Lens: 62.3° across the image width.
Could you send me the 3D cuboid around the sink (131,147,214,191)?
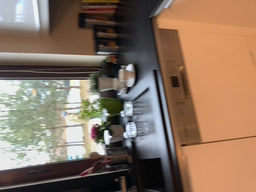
[{"bbox_3d":[0.210,0.410,1.160,0.410,0.240,0.200,138,127,-65],"label":"sink"}]
